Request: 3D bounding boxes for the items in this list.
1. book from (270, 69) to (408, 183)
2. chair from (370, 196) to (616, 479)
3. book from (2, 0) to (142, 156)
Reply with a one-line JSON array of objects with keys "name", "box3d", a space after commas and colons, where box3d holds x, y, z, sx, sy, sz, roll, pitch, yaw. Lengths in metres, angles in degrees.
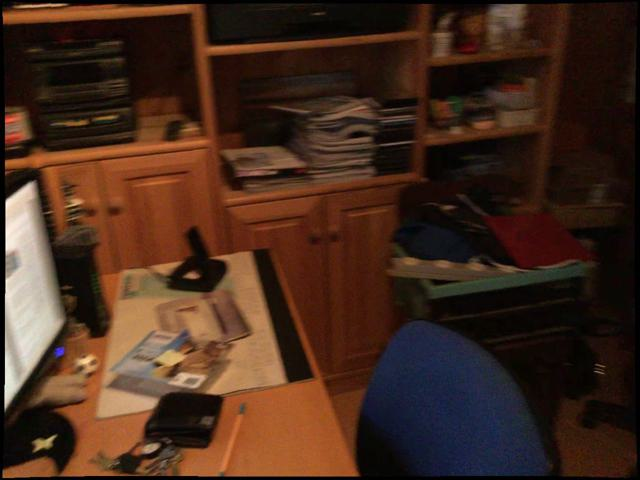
[{"name": "book", "box3d": [0.050, -0.420, 2.050, 0.360, 0.230, 0.450, -9, 31, -13]}, {"name": "chair", "box3d": [0.519, 0.310, 1.970, 0.530, 0.701, 0.520, -9, 31, -13]}, {"name": "book", "box3d": [-0.729, -0.521, 1.780, 0.290, 0.350, 0.440, -9, 31, -13]}]
